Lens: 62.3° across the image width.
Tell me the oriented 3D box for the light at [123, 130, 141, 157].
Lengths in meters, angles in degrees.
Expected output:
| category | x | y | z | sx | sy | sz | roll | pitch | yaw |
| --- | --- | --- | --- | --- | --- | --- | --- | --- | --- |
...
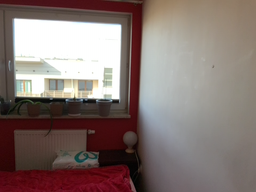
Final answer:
| category | x | y | z | sx | sy | sz | roll | pitch | yaw |
| --- | --- | --- | --- | --- | --- | --- | --- | --- | --- |
| light | 0.040 | 0.580 | 2.610 | 0.190 | 0.280 | 0.170 | 2 | 8 | -6 |
